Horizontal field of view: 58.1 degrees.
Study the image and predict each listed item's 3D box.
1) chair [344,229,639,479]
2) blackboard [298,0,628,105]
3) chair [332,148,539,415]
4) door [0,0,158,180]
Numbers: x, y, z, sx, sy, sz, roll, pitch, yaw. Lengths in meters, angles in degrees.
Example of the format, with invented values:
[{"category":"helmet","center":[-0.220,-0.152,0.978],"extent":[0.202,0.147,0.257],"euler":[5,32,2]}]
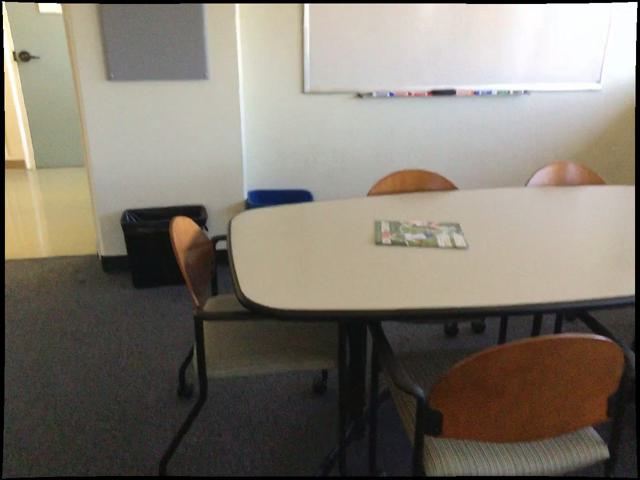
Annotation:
[{"category":"chair","center":[0.399,0.441,1.540],"extent":[0.579,0.762,0.520],"euler":[-4,24,-8]},{"category":"blackboard","center":[0.798,-1.434,3.070],"extent":[1.835,1.313,0.110],"euler":[-4,24,-8]},{"category":"chair","center":[0.369,0.120,2.180],"extent":[0.549,0.772,0.610],"euler":[-4,24,-8]},{"category":"door","center":[-2.095,-1.714,4.860],"extent":[1.097,2.375,0.240],"euler":[-4,24,-8]}]
